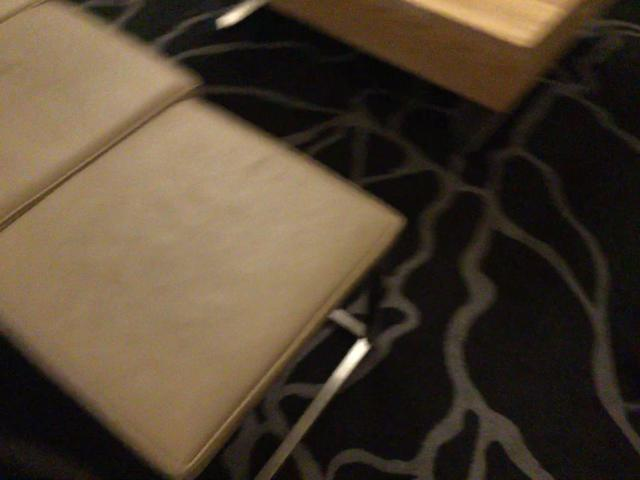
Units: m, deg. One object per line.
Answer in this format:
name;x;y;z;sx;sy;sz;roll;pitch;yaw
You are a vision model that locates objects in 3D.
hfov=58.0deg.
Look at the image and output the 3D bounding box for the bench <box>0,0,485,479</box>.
bench;-0.550;-0.140;1.310;1.630;0.510;0.590;34;60;22
